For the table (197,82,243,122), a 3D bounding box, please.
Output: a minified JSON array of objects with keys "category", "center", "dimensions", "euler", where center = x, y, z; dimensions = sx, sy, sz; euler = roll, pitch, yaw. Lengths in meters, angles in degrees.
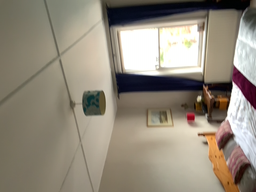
[{"category":"table","center":[1.910,0.110,4.500],"dimensions":[0.640,0.690,0.600],"euler":[-81,-13,-64]}]
